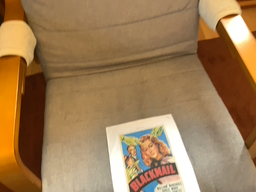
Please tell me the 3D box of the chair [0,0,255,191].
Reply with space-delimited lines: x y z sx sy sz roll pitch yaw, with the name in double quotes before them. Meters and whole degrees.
"chair" 0.010 -0.100 0.550 0.650 0.930 0.980 -9 70 -3
